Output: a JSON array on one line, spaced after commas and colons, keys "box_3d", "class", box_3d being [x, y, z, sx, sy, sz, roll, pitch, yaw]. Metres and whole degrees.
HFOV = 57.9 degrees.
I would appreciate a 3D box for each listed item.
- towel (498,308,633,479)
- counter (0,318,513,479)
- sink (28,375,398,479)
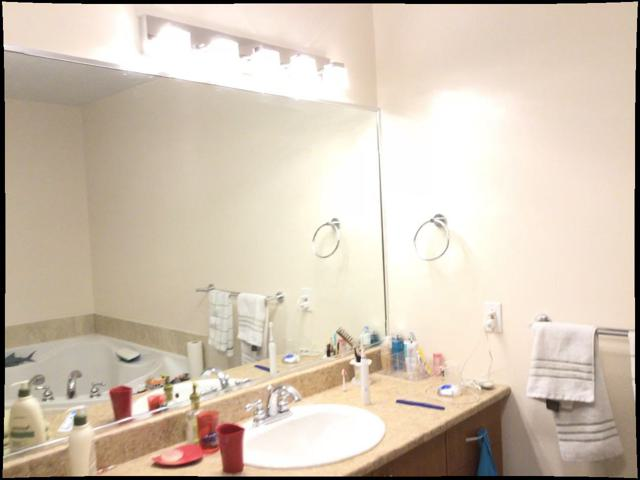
[{"box_3d": [0.809, 0.501, 1.910, 0.340, 0.500, 0.190, -1, 6, 43], "class": "towel"}, {"box_3d": [-0.030, 0.541, 1.740, 0.580, 0.240, 1.529, -1, 6, 42], "class": "counter"}, {"box_3d": [-0.270, 0.631, 1.550, 0.470, 0.190, 0.970, -1, 6, 42], "class": "sink"}]
